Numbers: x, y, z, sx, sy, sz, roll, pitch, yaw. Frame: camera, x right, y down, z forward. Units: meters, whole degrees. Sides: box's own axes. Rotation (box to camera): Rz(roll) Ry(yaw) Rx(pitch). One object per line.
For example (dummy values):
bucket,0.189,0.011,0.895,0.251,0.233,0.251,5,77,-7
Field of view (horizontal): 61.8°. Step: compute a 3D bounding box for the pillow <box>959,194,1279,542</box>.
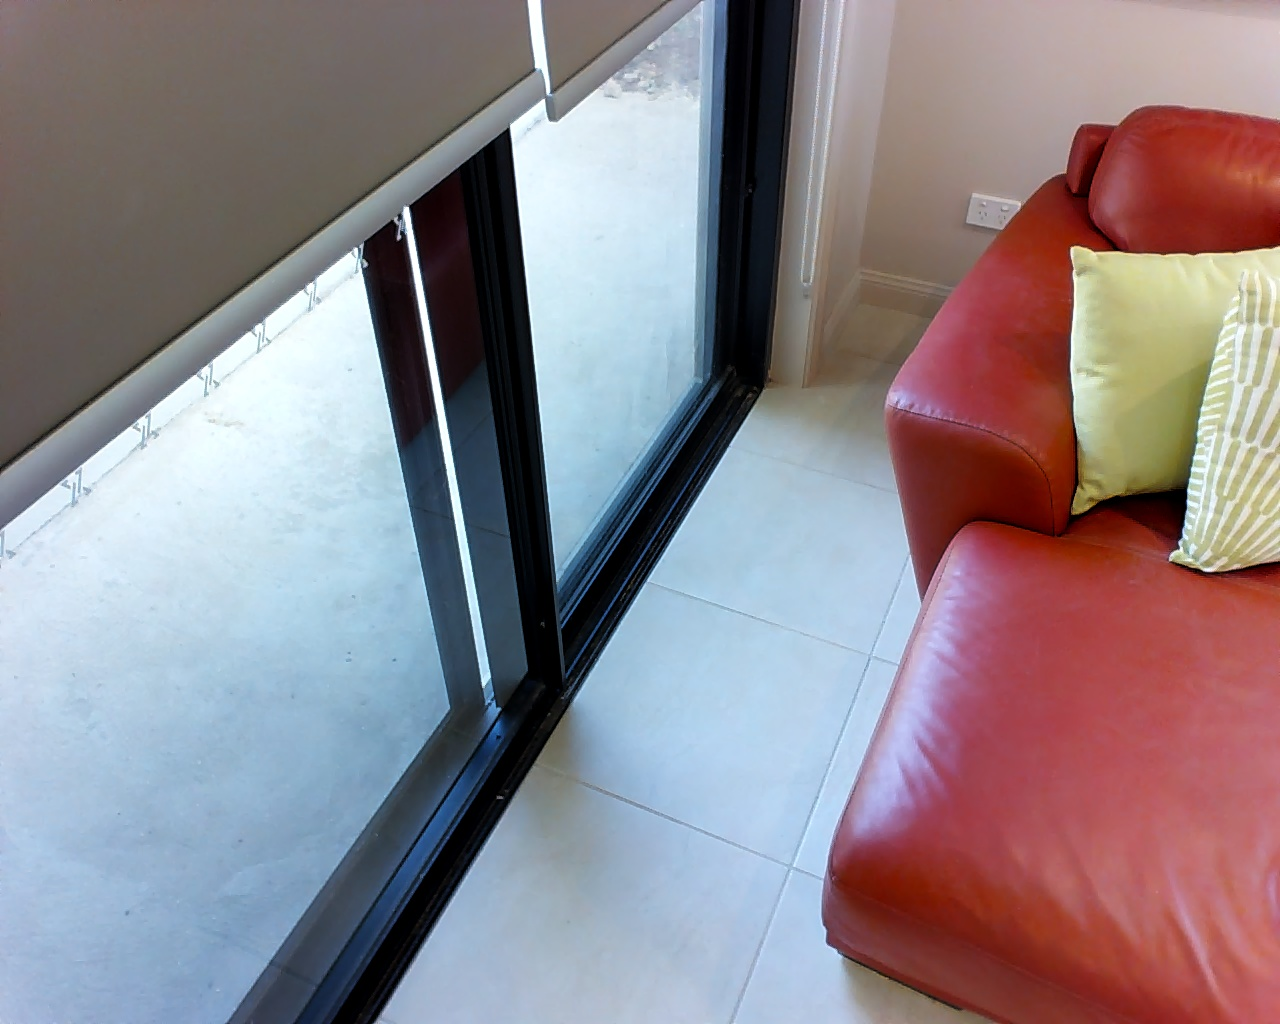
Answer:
pillow,0.840,-0.230,1.670,0.450,0.390,0.310,-9,52,-22
